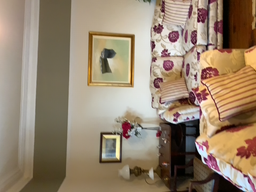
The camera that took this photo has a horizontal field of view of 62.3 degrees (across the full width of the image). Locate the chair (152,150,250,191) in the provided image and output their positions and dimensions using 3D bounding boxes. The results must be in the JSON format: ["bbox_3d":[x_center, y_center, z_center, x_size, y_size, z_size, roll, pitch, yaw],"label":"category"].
[{"bbox_3d":[0.840,1.010,2.590,0.550,0.980,0.540,-171,82,-83],"label":"chair"}]

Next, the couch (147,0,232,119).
[{"bbox_3d":[0.850,-0.710,3.240,1.060,0.900,2.020,174,97,-84],"label":"couch"}]

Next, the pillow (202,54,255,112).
[{"bbox_3d":[0.810,-0.090,1.580,0.110,0.380,0.430,-49,51,38],"label":"pillow"}]

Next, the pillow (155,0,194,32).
[{"bbox_3d":[0.690,-1.240,3.170,0.420,0.410,0.150,-53,50,26],"label":"pillow"}]
